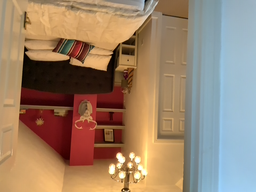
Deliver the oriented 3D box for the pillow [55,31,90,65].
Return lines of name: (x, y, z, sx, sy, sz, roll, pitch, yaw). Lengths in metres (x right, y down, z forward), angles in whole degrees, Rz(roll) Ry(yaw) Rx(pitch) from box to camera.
pillow: (-0.910, -0.800, 3.490, 0.240, 0.380, 0.490, 37, -135, 26)

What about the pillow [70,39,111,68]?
pillow: (-0.690, -0.760, 3.850, 0.690, 0.430, 0.240, 0, -139, -16)

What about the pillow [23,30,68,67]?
pillow: (-1.370, -0.800, 3.620, 0.640, 0.480, 0.290, 3, -137, -12)
